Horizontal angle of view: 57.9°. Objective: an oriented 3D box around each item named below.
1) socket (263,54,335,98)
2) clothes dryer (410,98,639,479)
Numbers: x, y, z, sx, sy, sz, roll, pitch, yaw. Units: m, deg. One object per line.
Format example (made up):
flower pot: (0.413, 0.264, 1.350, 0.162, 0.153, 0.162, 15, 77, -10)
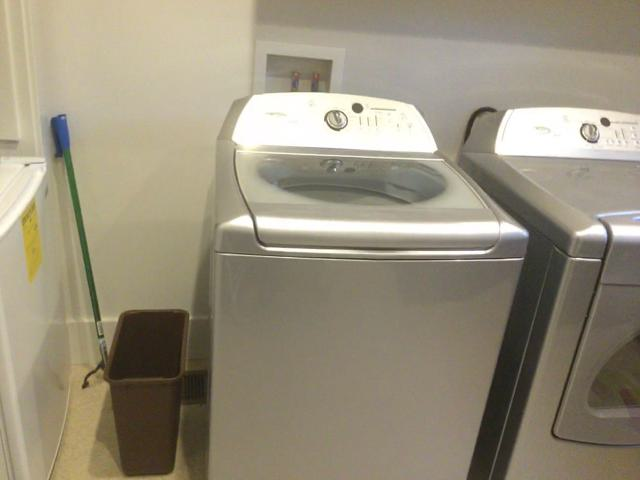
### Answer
socket: (-0.070, -0.530, 1.870, 0.210, 0.110, 0.120, 0, 23, -12)
clothes dryer: (0.810, 0.200, 1.740, 0.730, 1.080, 0.710, 0, 23, -12)
